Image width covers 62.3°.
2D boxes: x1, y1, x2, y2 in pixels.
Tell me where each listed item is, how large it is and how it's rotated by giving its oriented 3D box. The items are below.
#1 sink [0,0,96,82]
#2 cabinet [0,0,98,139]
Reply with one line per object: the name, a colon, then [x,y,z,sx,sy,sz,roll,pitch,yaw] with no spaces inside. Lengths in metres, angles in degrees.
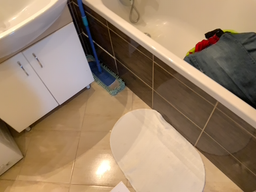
sink: [-0.560,-0.330,0.930,0.670,0.180,0.450,-38,62,-18]
cabinet: [-0.580,-0.170,1.280,0.600,0.700,0.310,-38,62,-18]
